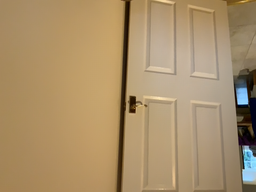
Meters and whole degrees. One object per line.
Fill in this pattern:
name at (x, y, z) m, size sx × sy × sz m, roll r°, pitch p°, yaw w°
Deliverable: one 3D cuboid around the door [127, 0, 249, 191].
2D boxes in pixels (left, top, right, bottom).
door at (0.430, 0.110, 1.550) m, size 0.830 × 1.970 × 0.120 m, roll 5°, pitch 165°, yaw -12°
